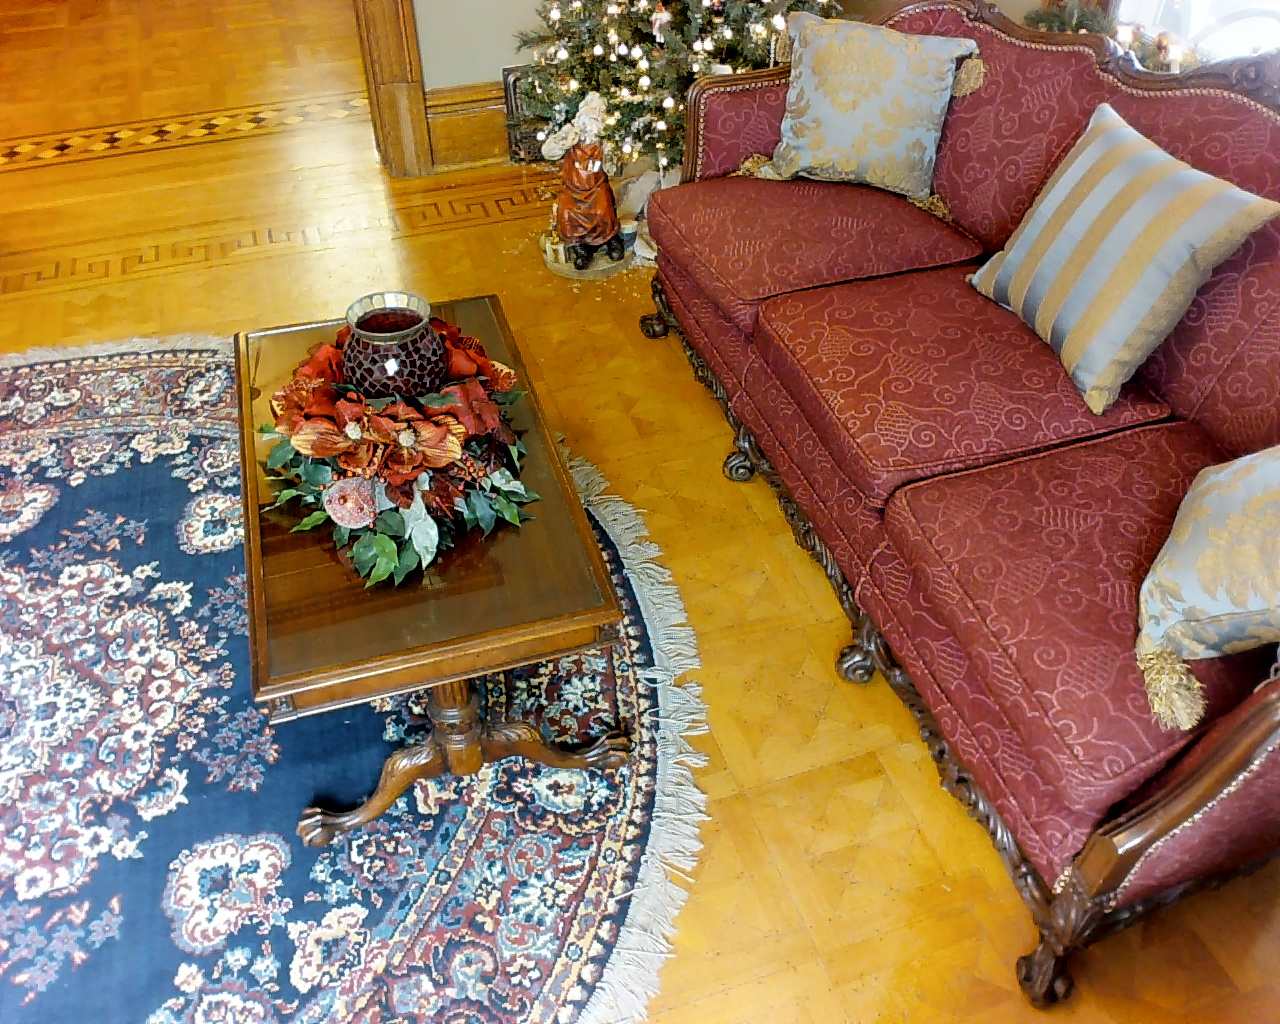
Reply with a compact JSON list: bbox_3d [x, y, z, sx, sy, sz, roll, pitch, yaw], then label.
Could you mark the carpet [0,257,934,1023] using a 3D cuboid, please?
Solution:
[{"bbox_3d":[-1.120,0.420,1.870,2.570,0.020,2.630,-14,45,-15],"label":"carpet"}]
